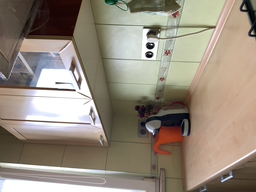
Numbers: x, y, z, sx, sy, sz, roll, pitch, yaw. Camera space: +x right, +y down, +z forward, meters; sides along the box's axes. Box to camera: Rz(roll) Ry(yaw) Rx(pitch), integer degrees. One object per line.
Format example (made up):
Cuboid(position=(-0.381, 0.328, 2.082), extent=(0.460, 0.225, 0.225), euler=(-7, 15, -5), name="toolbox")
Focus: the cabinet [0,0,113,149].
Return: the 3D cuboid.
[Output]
Cuboid(position=(-0.520, -0.030, 1.300), extent=(1.190, 0.730, 0.330), euler=(88, -174, -60), name="cabinet")
